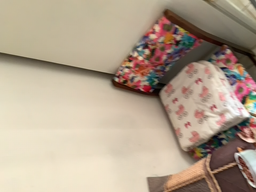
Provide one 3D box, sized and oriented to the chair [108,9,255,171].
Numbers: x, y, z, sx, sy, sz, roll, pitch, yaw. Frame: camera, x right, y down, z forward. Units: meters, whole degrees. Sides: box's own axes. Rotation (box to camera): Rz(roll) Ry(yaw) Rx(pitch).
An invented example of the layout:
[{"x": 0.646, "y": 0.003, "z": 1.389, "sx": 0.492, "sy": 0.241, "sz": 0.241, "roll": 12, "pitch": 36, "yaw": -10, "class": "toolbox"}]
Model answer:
[{"x": 0.390, "y": 0.020, "z": 1.070, "sx": 0.440, "sy": 0.770, "sz": 0.470, "roll": -47, "pitch": 50, "yaw": 37, "class": "chair"}]
